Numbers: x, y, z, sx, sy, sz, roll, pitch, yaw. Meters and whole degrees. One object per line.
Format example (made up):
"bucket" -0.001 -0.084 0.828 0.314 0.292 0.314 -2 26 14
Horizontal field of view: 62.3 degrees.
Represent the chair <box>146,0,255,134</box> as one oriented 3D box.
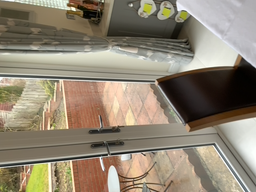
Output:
"chair" 0.660 -0.210 1.060 0.470 0.900 0.570 -114 33 -44
